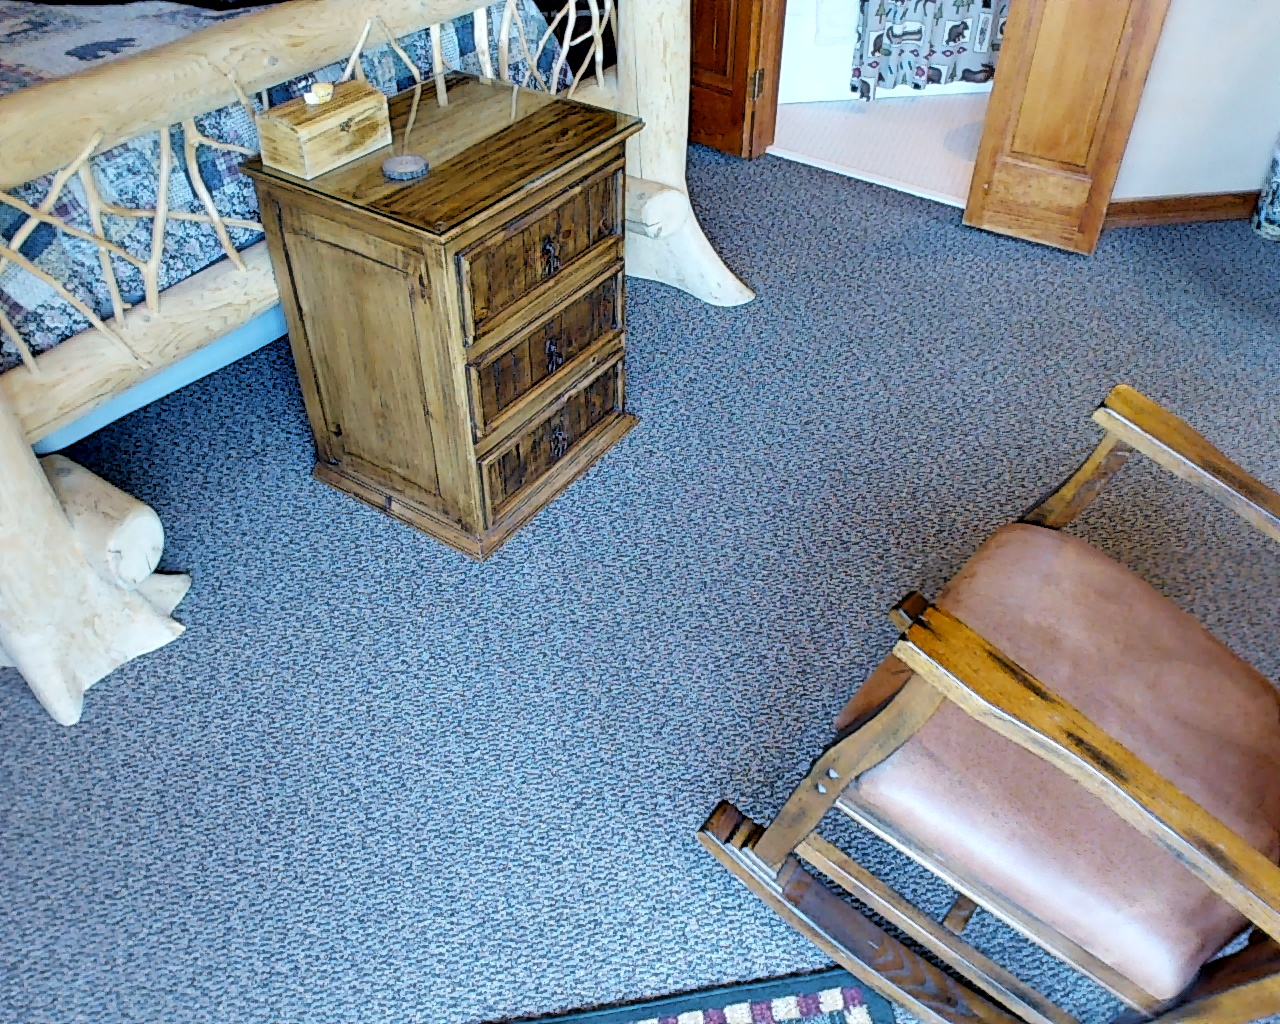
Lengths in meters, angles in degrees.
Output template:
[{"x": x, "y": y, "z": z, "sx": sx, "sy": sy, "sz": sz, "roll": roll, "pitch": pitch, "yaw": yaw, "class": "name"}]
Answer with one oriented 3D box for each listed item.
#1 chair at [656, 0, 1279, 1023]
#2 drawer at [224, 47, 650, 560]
[{"x": 0.650, "y": 0.140, "z": 1.230, "sx": 1.040, "sy": 1.120, "sz": 0.690, "roll": 29, "pitch": 49, "yaw": 27, "class": "chair"}, {"x": -0.350, "y": -0.430, "z": 2.180, "sx": 0.490, "sy": 0.730, "sz": 0.590, "roll": 24, "pitch": 47, "yaw": 23, "class": "drawer"}]
